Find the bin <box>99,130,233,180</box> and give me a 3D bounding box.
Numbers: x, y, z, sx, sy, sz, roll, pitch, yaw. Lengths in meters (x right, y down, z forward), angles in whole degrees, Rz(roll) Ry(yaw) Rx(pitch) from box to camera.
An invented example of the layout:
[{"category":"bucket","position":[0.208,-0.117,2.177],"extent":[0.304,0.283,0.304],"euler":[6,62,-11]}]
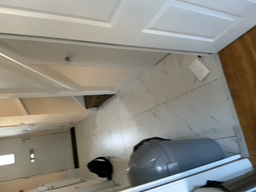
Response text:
[{"category":"bin","position":[0.260,0.400,1.660],"extent":[0.720,0.730,0.160],"euler":[-11,83,58]}]
